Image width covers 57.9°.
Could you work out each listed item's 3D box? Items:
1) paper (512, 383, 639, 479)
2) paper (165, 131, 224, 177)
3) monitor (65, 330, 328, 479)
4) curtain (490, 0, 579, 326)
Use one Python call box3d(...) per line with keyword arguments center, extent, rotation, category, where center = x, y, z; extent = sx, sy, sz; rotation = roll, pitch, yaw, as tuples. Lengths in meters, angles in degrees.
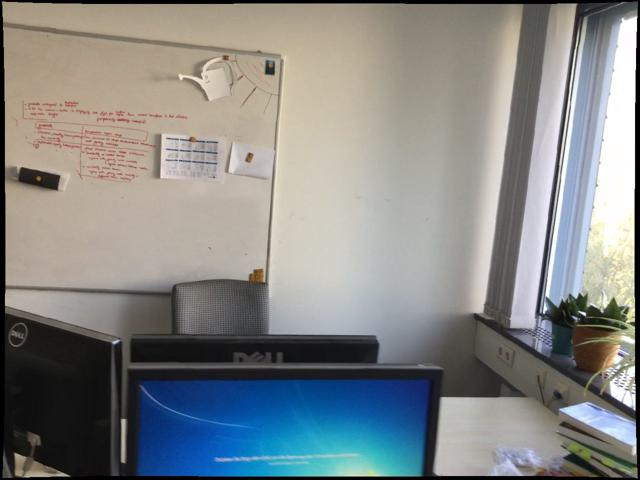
box3d(center=(0.829, 0.581, 1.650), extent=(0.400, 0.200, 0.350), rotation=(1, 10, -9), category="paper")
box3d(center=(-0.599, -0.410, 2.760), extent=(0.270, 0.200, 0.060), rotation=(1, 10, -9), category="paper")
box3d(center=(-0.270, 0.460, 1.300), extent=(0.549, 0.501, 0.100), rotation=(1, 4, -8), category="monitor")
box3d(center=(1.009, -0.400, 2.770), extent=(0.160, 1.562, 0.380), rotation=(-1, 8, -9), category="curtain")
